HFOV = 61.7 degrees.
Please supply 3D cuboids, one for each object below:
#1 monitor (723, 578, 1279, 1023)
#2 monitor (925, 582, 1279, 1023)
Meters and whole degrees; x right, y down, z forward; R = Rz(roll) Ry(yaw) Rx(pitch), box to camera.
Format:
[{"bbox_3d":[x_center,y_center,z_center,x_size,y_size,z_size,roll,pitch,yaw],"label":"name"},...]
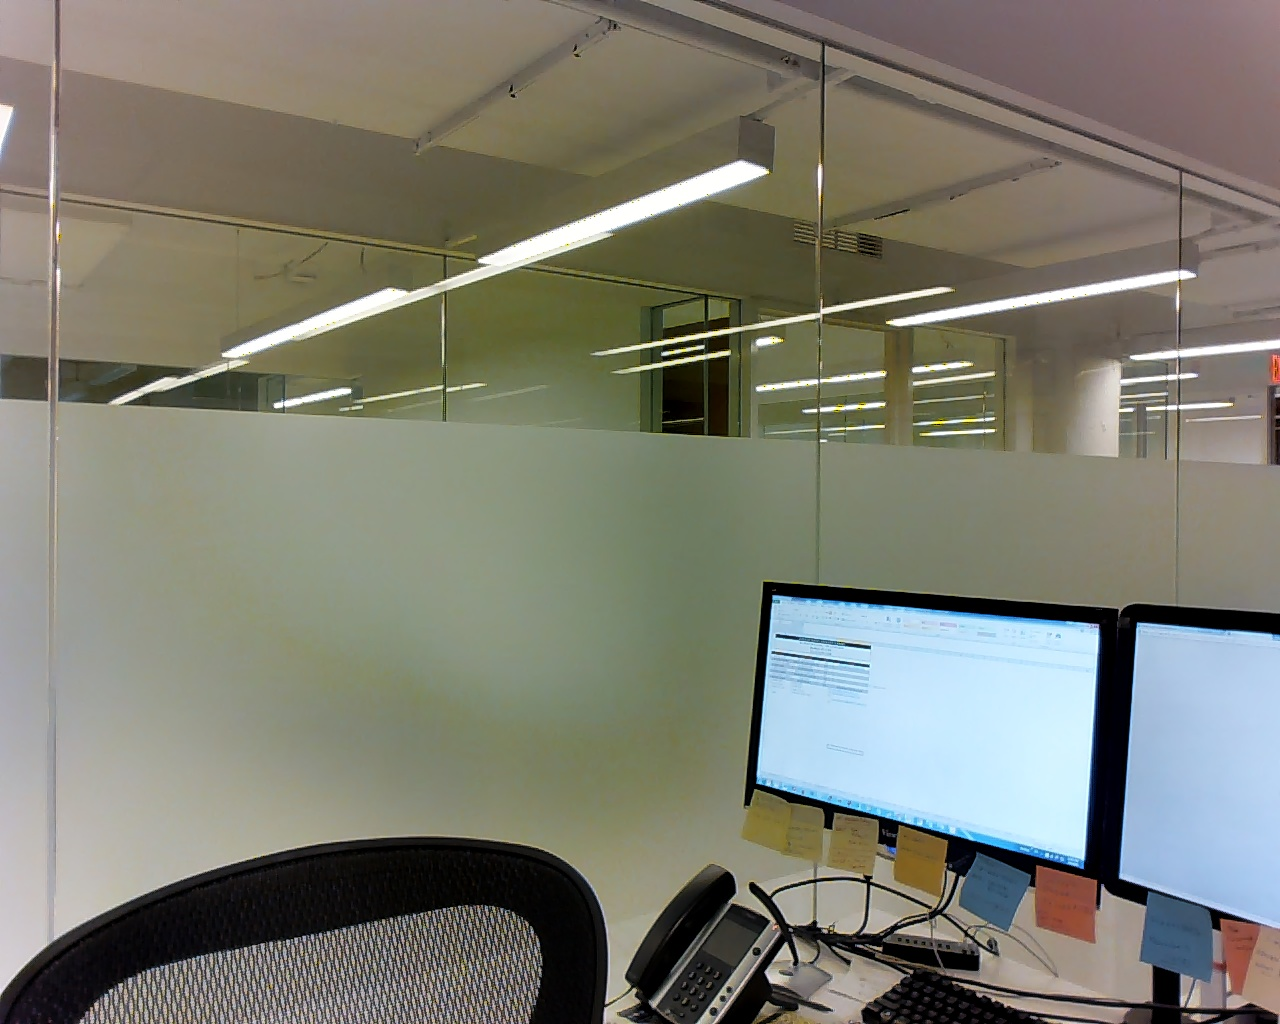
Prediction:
[{"bbox_3d":[0.440,0.320,1.400,0.120,0.420,0.790,0,1,-42],"label":"monitor"},{"bbox_3d":[0.650,0.310,1.110,0.150,0.420,0.760,0,1,-36],"label":"monitor"}]
